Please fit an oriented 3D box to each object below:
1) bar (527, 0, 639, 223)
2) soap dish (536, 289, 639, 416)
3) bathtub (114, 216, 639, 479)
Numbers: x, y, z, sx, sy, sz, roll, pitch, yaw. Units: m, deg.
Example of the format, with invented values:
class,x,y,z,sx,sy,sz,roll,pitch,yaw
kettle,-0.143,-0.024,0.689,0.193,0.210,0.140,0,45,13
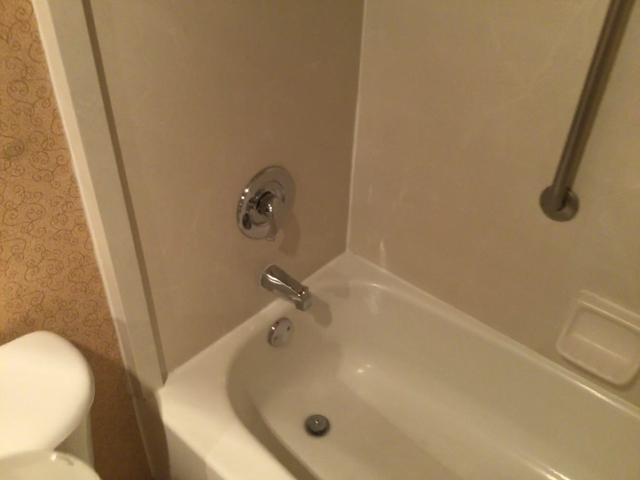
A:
class,x,y,z,sx,sy,sz,roll,pitch,yaw
bar,0.470,-0.310,0.950,0.090,0.610,0.070,29,45,32
soap dish,0.570,0.230,1.190,0.180,0.180,0.080,29,45,32
bathtub,0.350,0.590,1.150,1.400,0.520,0.730,29,45,32
